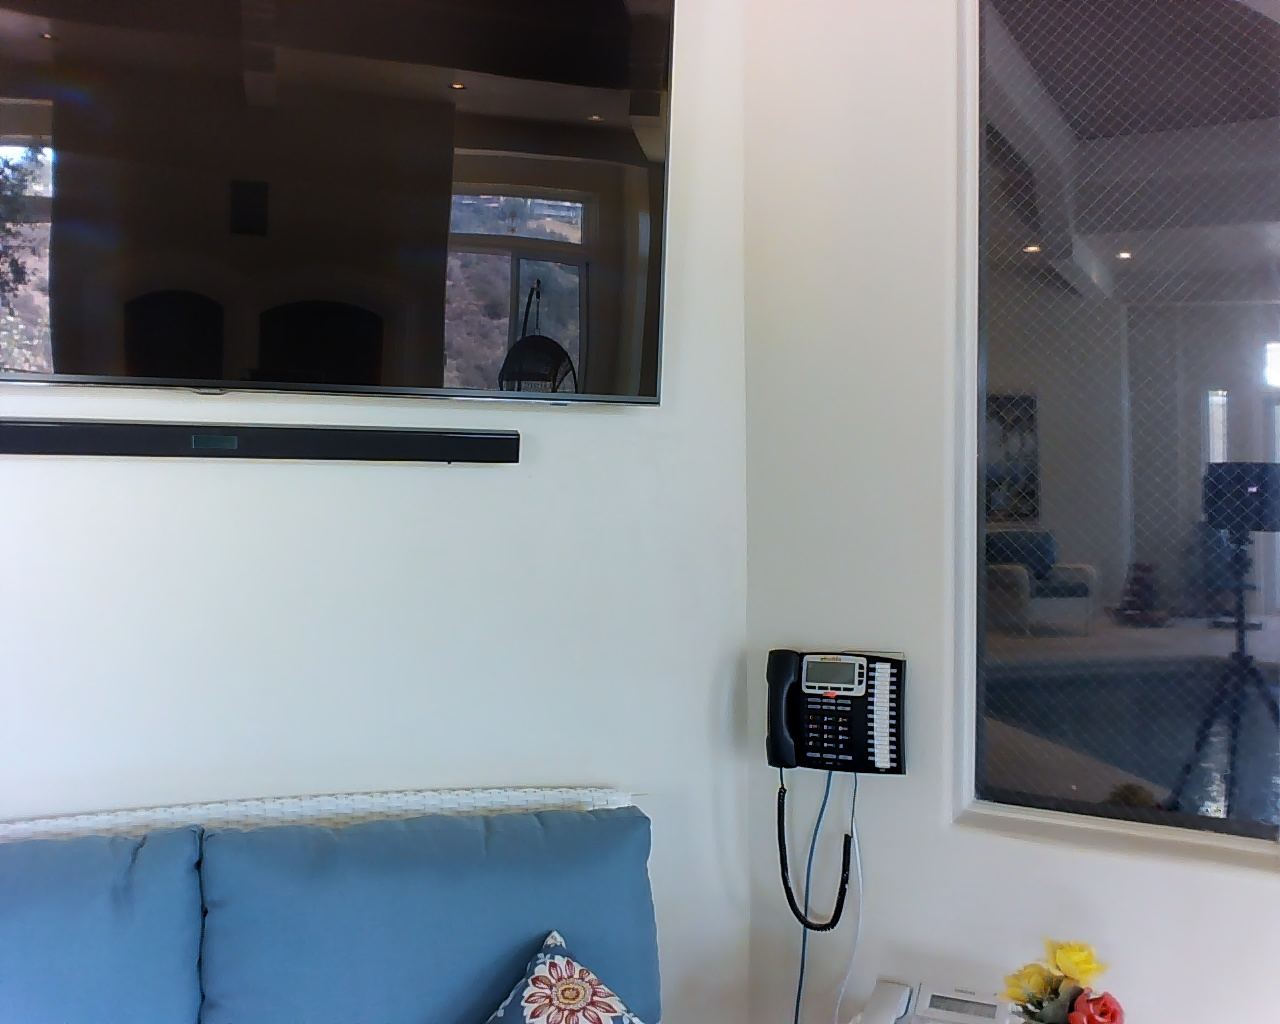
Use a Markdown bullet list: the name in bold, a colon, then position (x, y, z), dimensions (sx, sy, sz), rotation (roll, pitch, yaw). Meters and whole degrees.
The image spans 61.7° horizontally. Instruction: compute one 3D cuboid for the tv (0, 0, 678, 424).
- **tv**: position (-0.640, -0.590, 1.630), dimensions (1.420, 0.860, 0.160), rotation (0, 1, -18)
